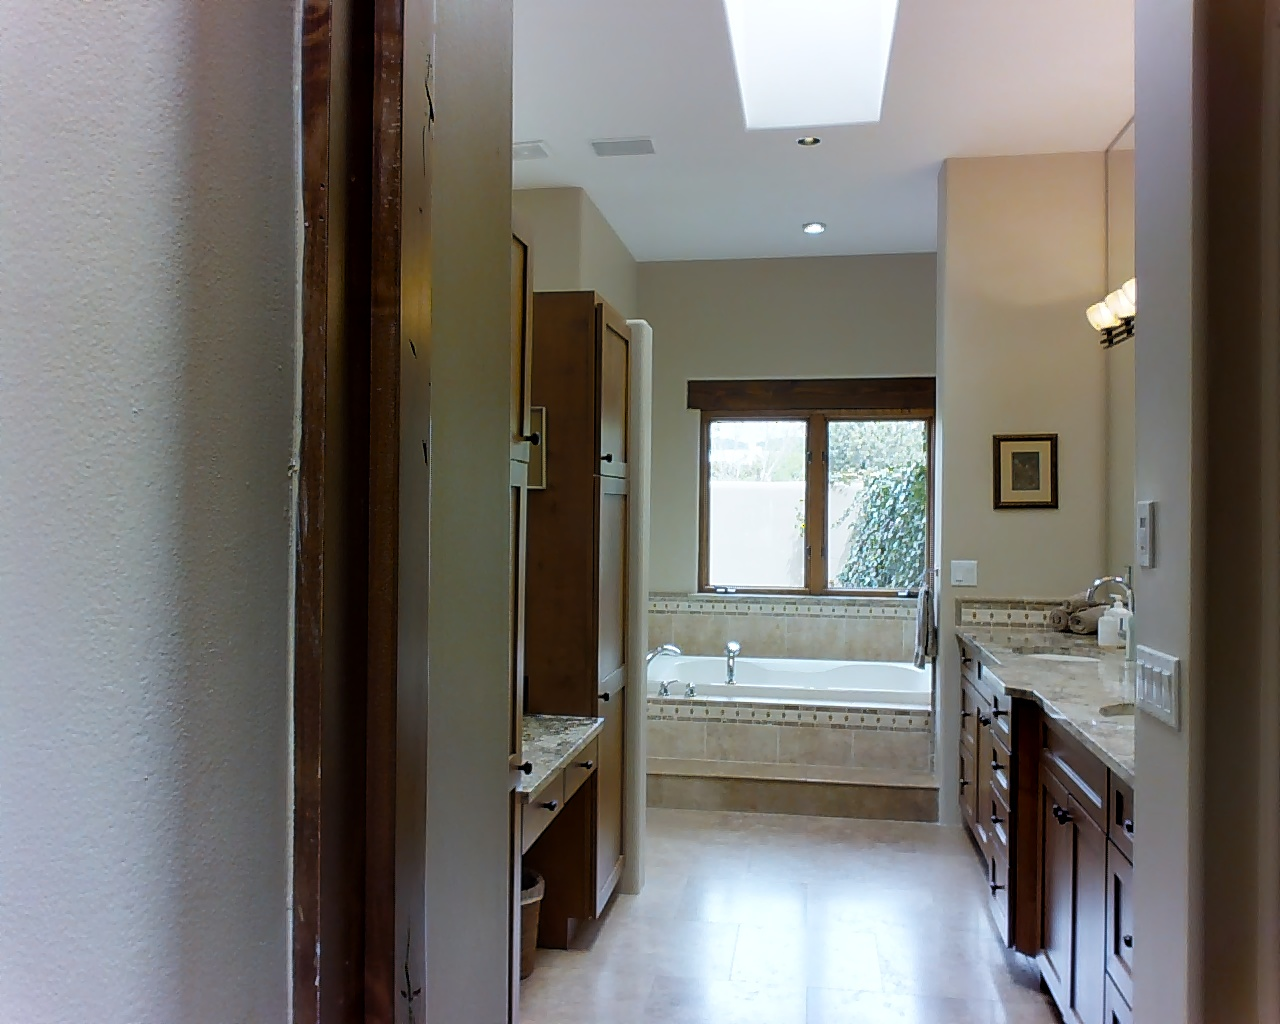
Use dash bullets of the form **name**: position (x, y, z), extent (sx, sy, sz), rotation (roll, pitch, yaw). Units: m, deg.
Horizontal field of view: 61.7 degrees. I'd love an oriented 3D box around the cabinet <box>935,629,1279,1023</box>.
- **cabinet**: position (1.420, 0.980, 3.360), extent (0.670, 0.910, 2.980), rotation (1, 0, 10)
